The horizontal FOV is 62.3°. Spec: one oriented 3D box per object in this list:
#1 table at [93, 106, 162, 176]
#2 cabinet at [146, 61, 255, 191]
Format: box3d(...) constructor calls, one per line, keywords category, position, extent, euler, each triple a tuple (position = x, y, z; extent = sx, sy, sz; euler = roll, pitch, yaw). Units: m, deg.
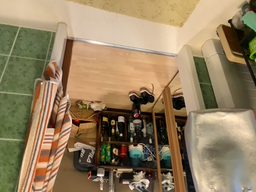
box3d(category="table", position=(-0.020, 0.530, 2.490), extent=(0.690, 0.700, 0.300), euler=(7, 148, -12))
box3d(category="cabinet", position=(0.650, 0.860, 1.730), extent=(0.620, 2.080, 0.930), euler=(7, 148, -13))
